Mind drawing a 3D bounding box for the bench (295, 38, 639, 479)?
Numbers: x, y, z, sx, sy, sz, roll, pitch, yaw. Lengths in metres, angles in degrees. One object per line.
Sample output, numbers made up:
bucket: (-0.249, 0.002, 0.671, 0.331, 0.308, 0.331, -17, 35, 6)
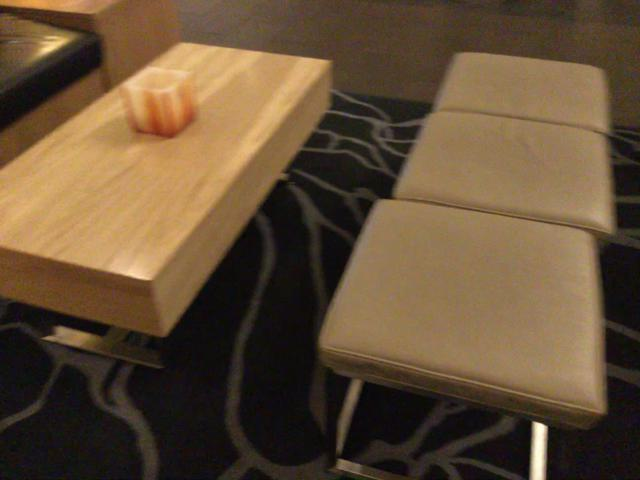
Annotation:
bench: (0.500, -0.020, 1.690, 0.590, 0.510, 1.630, 11, 41, 15)

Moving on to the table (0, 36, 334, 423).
table: (-0.450, -0.160, 1.830, 0.650, 0.480, 1.230, 11, 41, 15)

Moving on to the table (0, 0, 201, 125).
table: (-1.060, -1.000, 2.780, 0.640, 0.550, 0.680, 11, 41, 15)
